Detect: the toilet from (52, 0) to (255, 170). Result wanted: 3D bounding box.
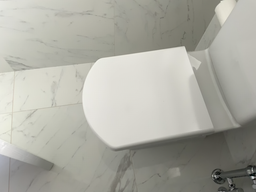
[{"bbox_3d":[0.170,-0.020,0.810,0.690,0.780,0.400,-8,67,-7],"label":"toilet"}]
